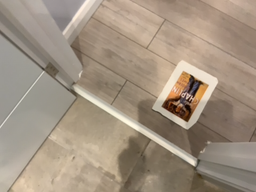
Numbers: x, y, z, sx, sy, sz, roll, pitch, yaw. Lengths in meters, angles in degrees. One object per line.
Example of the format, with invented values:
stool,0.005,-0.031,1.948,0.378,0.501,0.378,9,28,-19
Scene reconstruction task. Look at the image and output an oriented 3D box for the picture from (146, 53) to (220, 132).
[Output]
picture,0.270,-0.020,1.040,0.250,0.030,0.310,28,79,6
